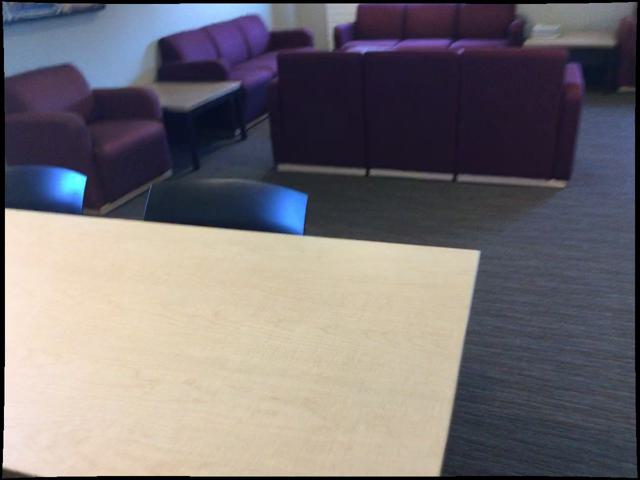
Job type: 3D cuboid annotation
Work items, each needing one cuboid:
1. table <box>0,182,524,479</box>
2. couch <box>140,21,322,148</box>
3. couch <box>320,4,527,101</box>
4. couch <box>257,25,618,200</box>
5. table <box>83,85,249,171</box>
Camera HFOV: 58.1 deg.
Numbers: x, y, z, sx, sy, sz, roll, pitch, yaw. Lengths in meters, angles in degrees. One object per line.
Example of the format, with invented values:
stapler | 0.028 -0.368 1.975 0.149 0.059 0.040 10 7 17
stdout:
table | -0.588 0.431 1.420 1.956 0.822 0.910 6 25 19
couch | -0.688 -1.514 5.320 0.778 0.832 1.920 6 25 19
couch | 1.067 -1.955 5.970 1.936 0.822 0.850 6 25 19
couch | 0.688 -0.862 3.660 1.976 0.862 0.730 6 25 19
table | -1.097 -0.862 4.290 0.798 0.421 0.870 6 25 19
